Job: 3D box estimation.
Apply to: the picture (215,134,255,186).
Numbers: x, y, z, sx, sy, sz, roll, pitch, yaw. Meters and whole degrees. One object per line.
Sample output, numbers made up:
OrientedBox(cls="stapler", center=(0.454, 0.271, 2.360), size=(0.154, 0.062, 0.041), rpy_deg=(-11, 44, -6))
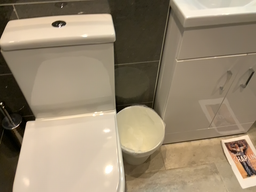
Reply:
OrientedBox(cls="picture", center=(0.690, 0.370, 1.270), size=(0.210, 0.030, 0.290), rpy_deg=(-6, 49, -8))

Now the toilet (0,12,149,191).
OrientedBox(cls="toilet", center=(-0.220, 0.210, 0.850), size=(0.390, 0.810, 0.620), rpy_deg=(-6, 49, -8))
